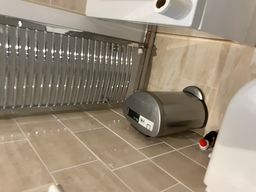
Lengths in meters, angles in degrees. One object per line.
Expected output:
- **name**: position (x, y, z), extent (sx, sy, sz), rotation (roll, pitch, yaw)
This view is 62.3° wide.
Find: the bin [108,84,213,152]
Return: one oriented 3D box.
- **bin**: position (0.190, 0.090, 1.230), extent (0.330, 0.480, 0.230), rotation (27, 111, 44)
